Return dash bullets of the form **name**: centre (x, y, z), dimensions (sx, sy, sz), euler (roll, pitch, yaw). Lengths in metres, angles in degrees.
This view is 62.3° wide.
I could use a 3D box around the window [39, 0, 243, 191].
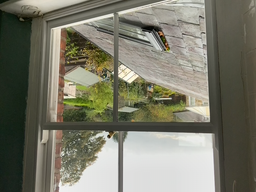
- **window**: centre (-0.020, 0.120, 1.110), dimensions (1.060, 1.210, 0.080), euler (-4, 172, 24)
